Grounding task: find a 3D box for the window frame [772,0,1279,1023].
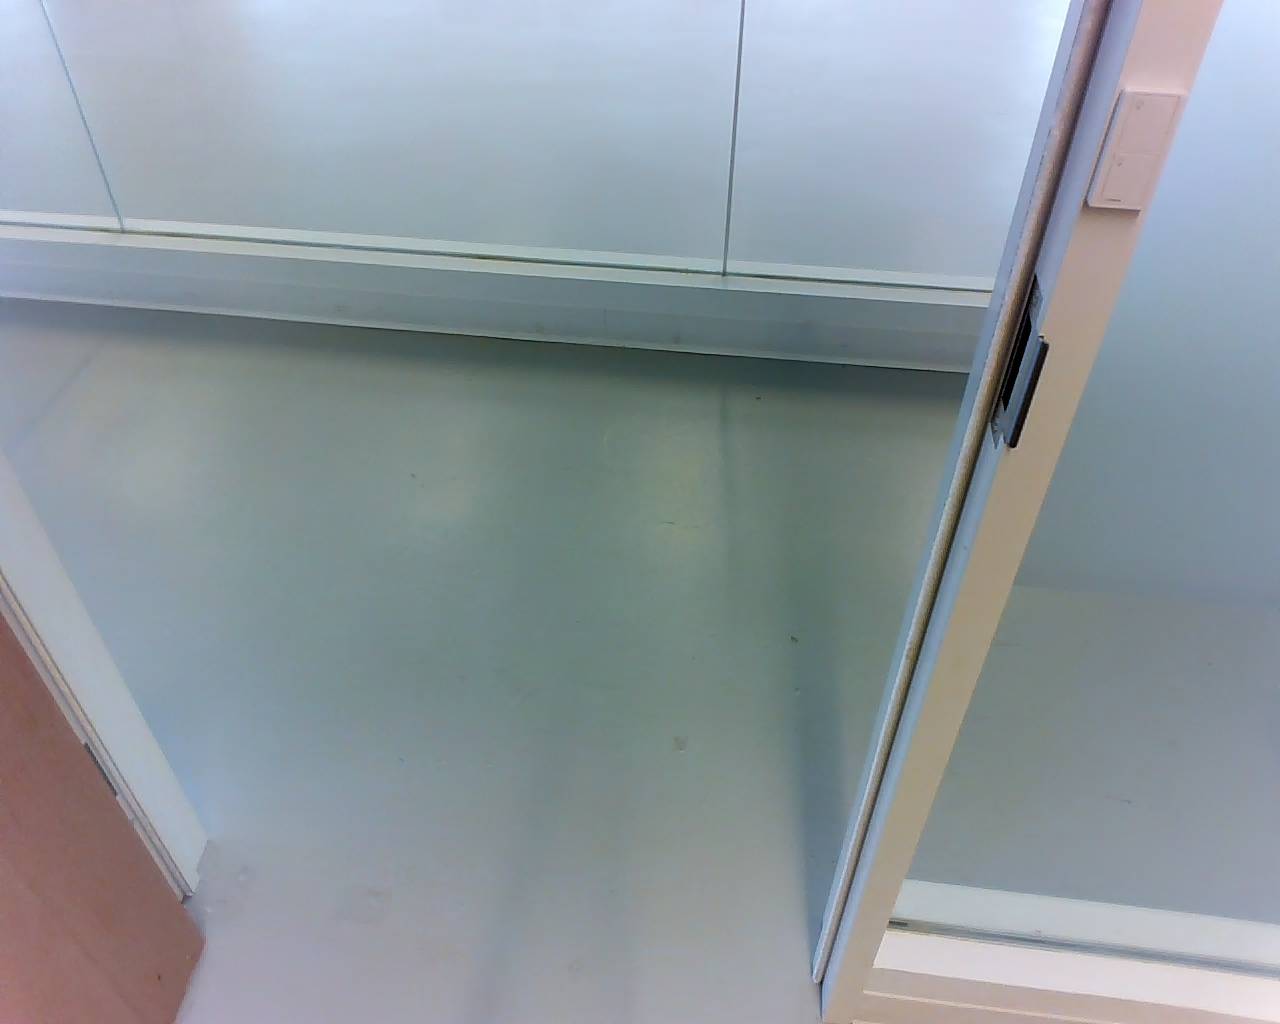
[{"bbox_3d":[0.920,-0.130,0.590,1.490,2.280,0.120,5,44,5],"label":"window frame"}]
